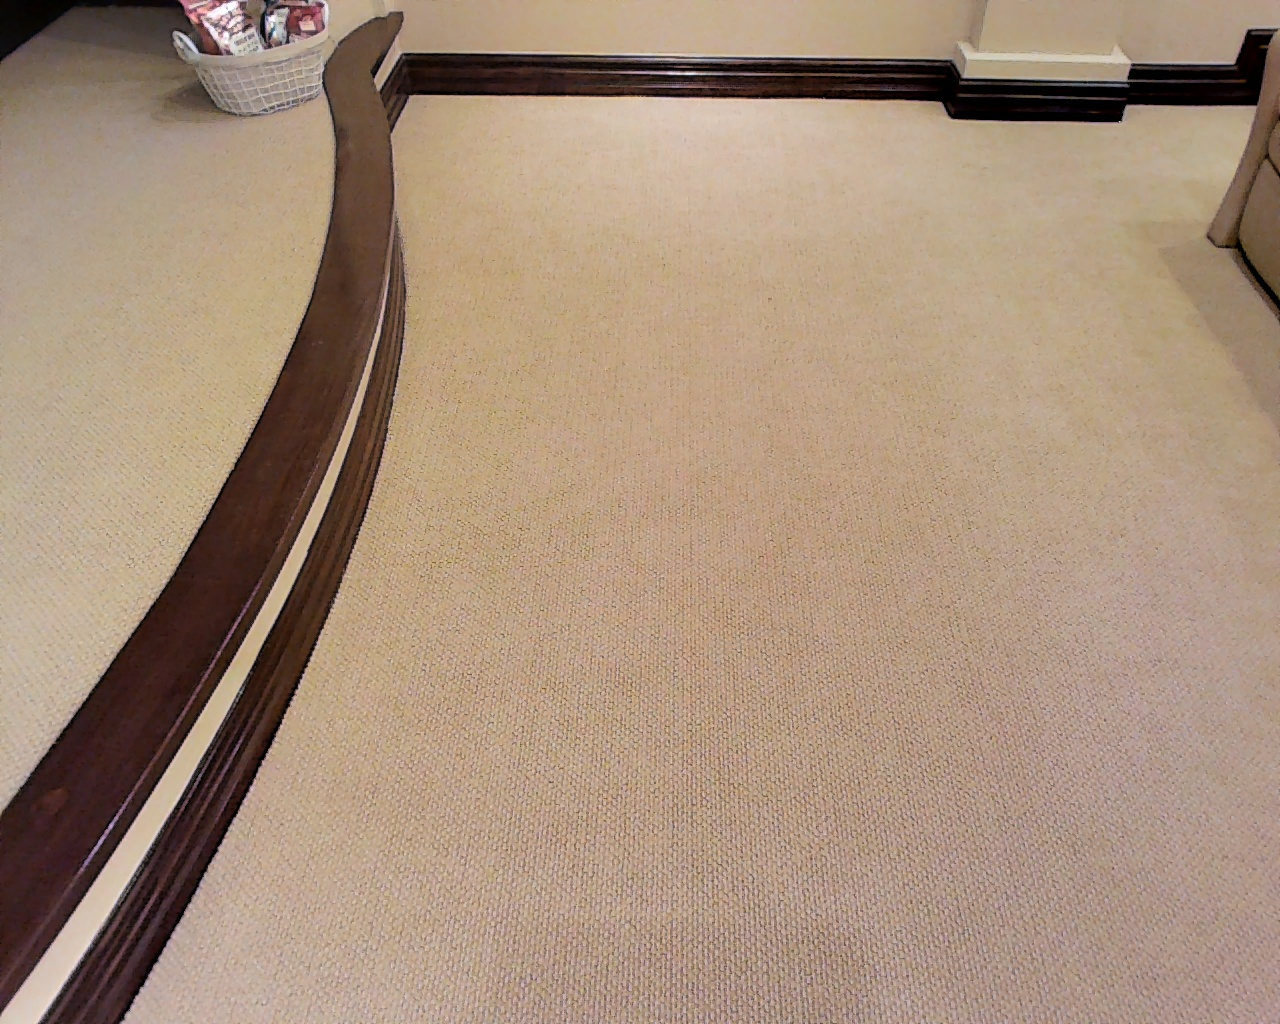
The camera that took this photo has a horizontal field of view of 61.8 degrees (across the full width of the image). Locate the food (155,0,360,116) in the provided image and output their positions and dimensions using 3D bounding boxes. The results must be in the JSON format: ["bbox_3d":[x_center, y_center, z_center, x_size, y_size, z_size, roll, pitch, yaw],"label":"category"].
[{"bbox_3d":[-1.130,-1.459,3.240,0.460,0.300,0.500,-5,43,-4],"label":"food"}]
